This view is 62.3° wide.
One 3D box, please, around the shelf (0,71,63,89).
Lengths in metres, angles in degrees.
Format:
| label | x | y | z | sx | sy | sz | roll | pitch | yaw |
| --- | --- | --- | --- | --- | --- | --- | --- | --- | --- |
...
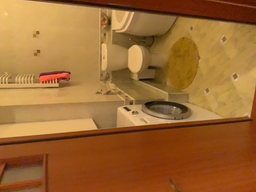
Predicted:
| label | x | y | z | sx | sy | sz | roll | pitch | yaw |
| --- | --- | --- | --- | --- | --- | --- | --- | --- | --- |
| shelf | -1.320 | -0.220 | 2.740 | 0.550 | 0.890 | 0.120 | -143 | 54 | -65 |
